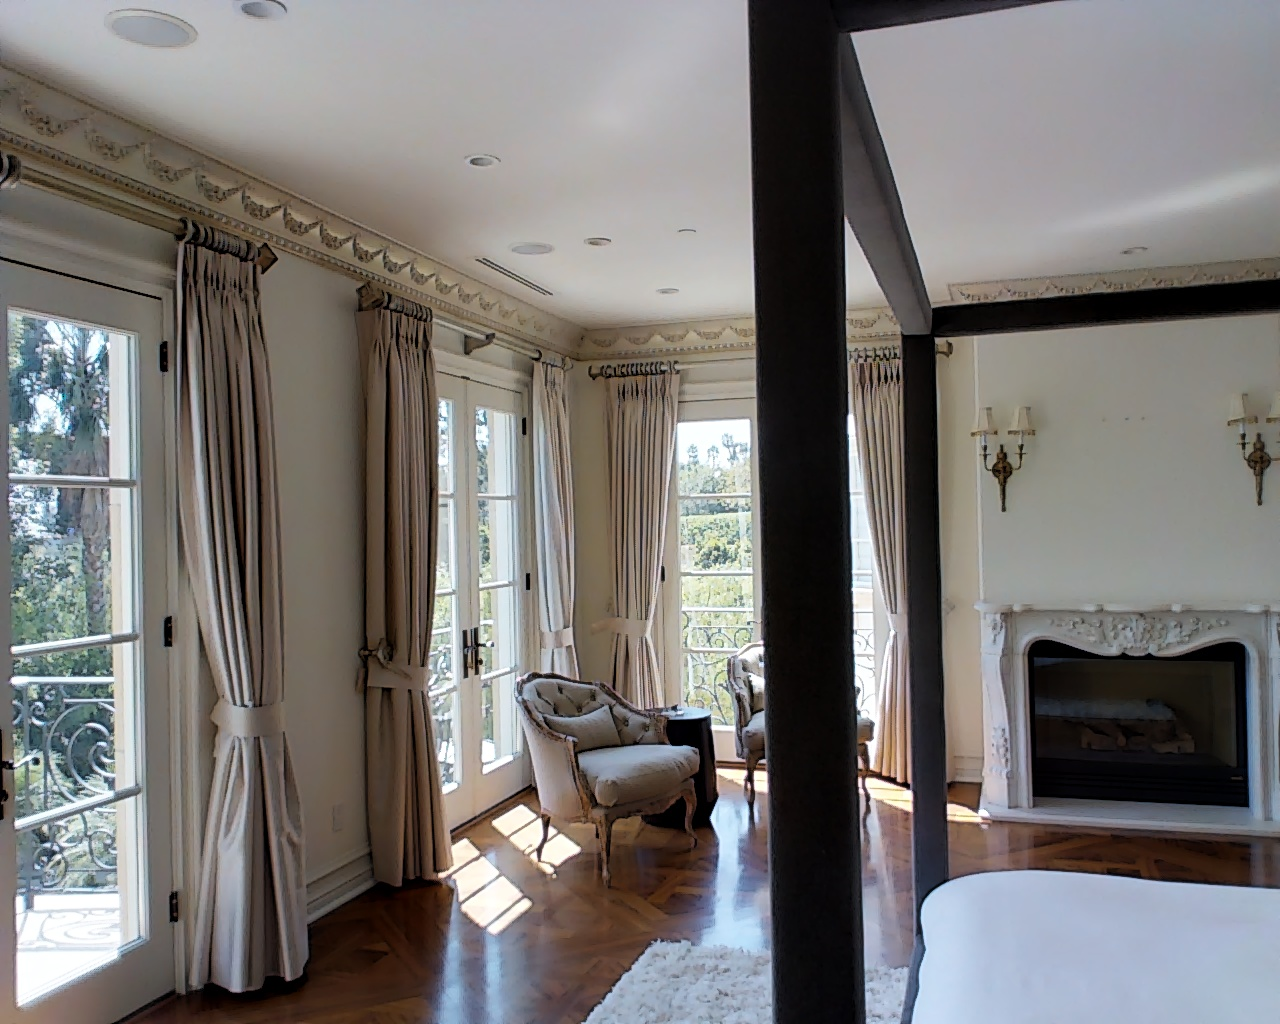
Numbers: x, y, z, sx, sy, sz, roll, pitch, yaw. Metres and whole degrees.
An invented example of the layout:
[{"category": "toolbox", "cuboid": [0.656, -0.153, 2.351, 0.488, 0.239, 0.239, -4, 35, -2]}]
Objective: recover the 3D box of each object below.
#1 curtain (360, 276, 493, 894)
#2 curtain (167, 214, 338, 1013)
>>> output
[{"category": "curtain", "cuboid": [-0.980, 0.320, 4.970, 0.350, 2.691, 0.520, -1, -1, 18]}, {"category": "curtain", "cuboid": [-1.380, 0.340, 3.850, 0.340, 2.671, 0.440, -1, -1, 18]}]
